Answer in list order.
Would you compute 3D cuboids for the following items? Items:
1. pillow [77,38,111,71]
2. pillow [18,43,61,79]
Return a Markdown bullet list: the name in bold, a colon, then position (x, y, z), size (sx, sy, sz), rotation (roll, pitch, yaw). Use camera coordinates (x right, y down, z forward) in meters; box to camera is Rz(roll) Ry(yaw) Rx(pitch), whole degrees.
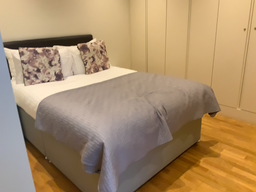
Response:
- **pillow**: position (-0.450, -0.540, 2.810), size (0.120, 0.390, 0.430), rotation (17, 15, 43)
- **pillow**: position (-0.970, -0.380, 2.340), size (0.410, 0.350, 0.130), rotation (-3, 14, -43)
